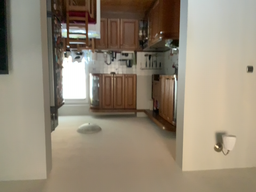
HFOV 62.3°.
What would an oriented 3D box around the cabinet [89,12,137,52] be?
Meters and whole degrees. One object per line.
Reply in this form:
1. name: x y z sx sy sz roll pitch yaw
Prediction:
1. cabinet: -0.380 -1.600 5.450 1.160 0.870 0.580 0 -174 -4
